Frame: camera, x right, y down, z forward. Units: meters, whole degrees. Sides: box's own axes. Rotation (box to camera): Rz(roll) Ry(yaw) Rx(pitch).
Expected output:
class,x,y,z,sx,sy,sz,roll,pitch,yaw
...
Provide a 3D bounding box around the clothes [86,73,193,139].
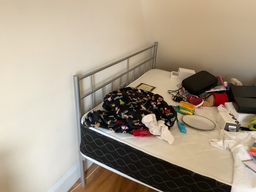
class,x,y,z,sx,sy,sz,roll,pitch,yaw
clothes,0.040,0.030,1.450,0.570,0.130,0.670,2,26,-5
